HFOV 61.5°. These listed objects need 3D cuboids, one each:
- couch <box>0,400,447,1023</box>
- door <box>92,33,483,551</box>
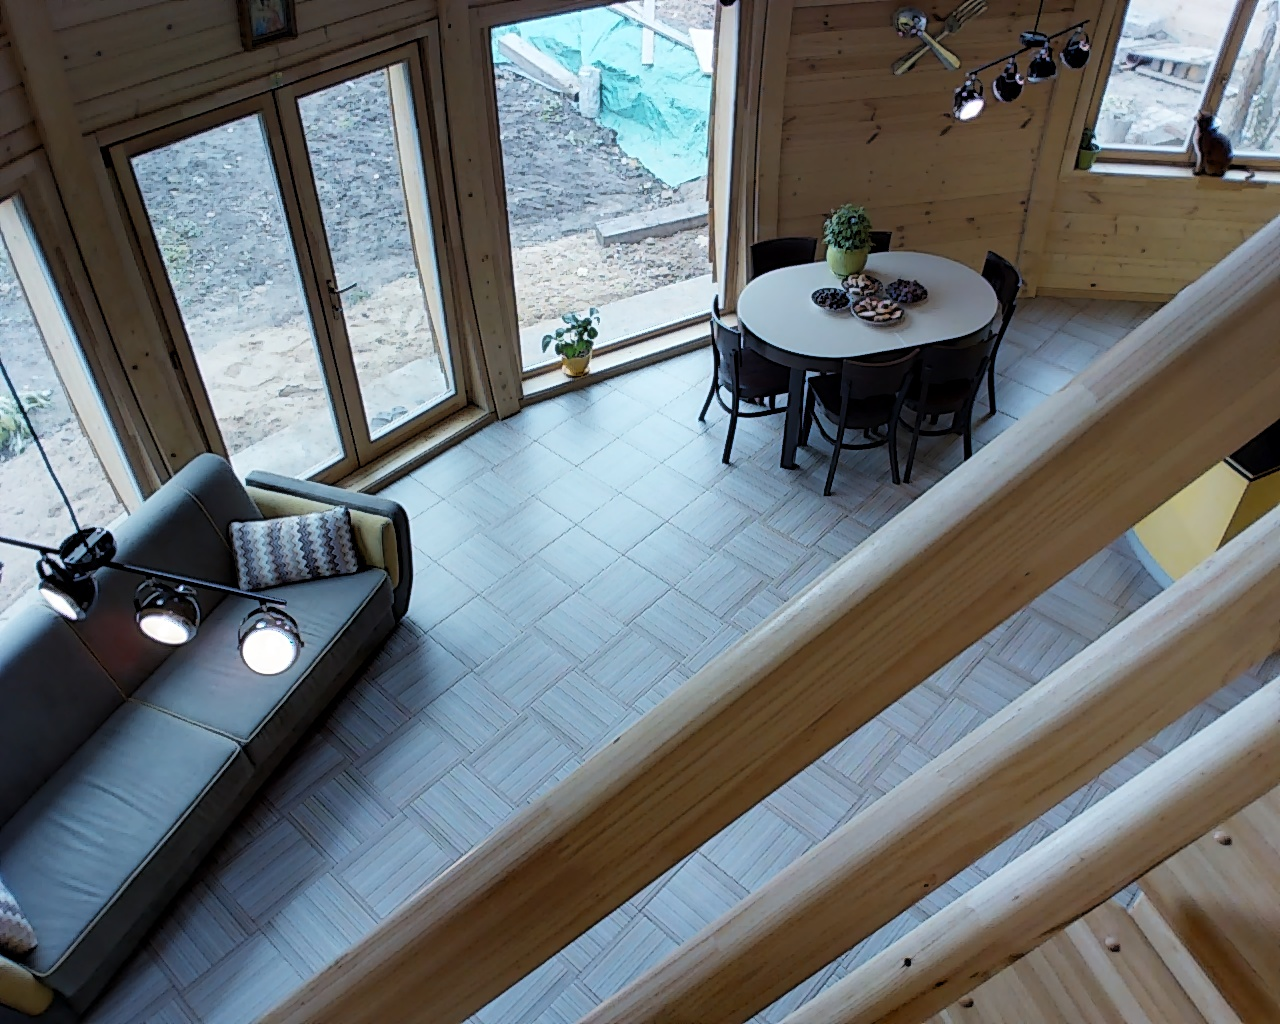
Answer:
[{"bbox_3d":[-1.940,0.710,4.220,1.080,0.850,2.510,17,45,18],"label":"couch"},{"bbox_3d":[-1.490,-1.000,5.140,0.180,2.060,1.550,30,50,30],"label":"door"}]
